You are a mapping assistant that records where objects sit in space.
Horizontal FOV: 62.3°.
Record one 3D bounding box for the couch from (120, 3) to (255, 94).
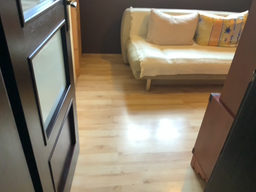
[{"bbox_3d":[0.990,-0.620,2.730,2.090,0.790,0.950,1,33,-7],"label":"couch"}]
